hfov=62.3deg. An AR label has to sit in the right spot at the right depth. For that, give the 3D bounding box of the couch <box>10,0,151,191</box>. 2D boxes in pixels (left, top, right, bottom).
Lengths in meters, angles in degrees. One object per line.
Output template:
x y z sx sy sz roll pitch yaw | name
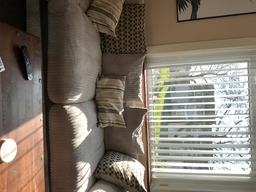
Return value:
-0.310 -0.340 2.100 1.250 0.870 2.940 -6 94 -79 | couch
